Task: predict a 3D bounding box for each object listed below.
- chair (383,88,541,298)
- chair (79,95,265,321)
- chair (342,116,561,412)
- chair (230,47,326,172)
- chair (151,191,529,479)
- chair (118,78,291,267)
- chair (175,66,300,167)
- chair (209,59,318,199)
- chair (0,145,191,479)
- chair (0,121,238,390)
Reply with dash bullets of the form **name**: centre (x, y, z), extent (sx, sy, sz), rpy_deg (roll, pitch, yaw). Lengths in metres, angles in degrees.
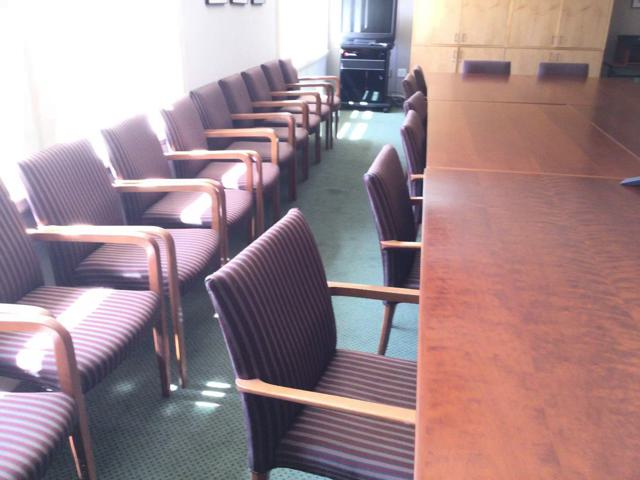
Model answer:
- **chair**: centre (0.680, -0.260, 2.930), extent (0.610, 0.870, 0.580), rpy_deg (6, 25, 10)
- **chair**: centre (-0.630, -0.180, 2.720), extent (0.570, 0.840, 0.640), rpy_deg (6, 25, 10)
- **chair**: centre (0.450, 0.060, 2.190), extent (0.620, 0.900, 0.570), rpy_deg (6, 25, 10)
- **chair**: centre (-0.320, -1.080, 4.710), extent (0.600, 0.850, 0.650), rpy_deg (6, 25, 10)
- **chair**: centre (0.070, 0.410, 1.450), extent (0.650, 0.830, 0.580), rpy_deg (13, 27, 24)
- **chair**: centre (-0.580, -0.410, 3.220), extent (0.680, 0.820, 0.720), rpy_deg (6, 25, 10)
- **chair**: centre (-0.490, -0.800, 3.660), extent (0.600, 0.470, 0.600), rpy_deg (6, 25, 10)
- **chair**: centre (-0.380, -0.830, 4.210), extent (0.600, 0.840, 0.660), rpy_deg (6, 25, 10)
- **chair**: centre (-0.840, 0.220, 1.800), extent (0.610, 0.850, 0.620), rpy_deg (6, 25, 10)
- **chair**: centre (-0.720, 0.030, 2.260), extent (0.610, 0.830, 0.570), rpy_deg (6, 25, 10)
